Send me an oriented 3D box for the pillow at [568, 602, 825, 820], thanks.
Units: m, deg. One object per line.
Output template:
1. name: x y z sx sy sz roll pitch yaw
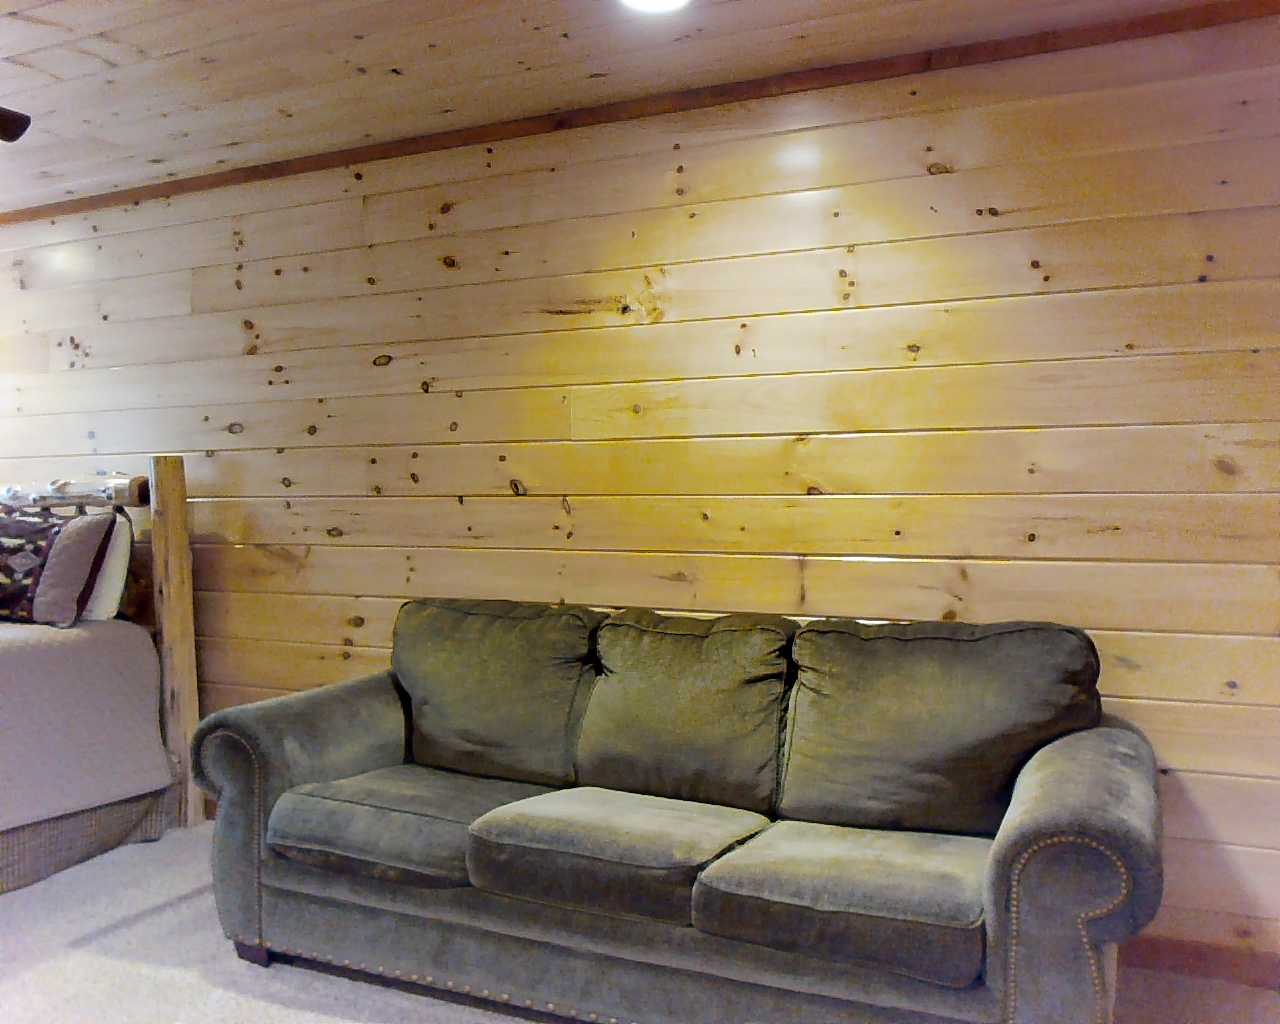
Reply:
1. pillow: 0.160 0.510 2.930 0.580 0.480 0.400 -1 0 26

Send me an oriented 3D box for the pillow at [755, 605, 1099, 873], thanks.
1. pillow: 0.730 0.520 2.700 0.740 0.510 0.510 -1 0 26

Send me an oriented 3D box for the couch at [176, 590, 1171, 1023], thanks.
1. couch: 0.060 0.690 2.730 2.269 0.870 0.990 -1 0 24

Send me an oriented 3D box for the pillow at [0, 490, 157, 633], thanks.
1. pillow: -2.489 0.160 3.880 1.260 0.450 0.700 -1 0 24

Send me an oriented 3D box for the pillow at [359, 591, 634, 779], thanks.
1. pillow: -0.420 0.480 3.180 0.690 0.450 0.410 -1 0 26
